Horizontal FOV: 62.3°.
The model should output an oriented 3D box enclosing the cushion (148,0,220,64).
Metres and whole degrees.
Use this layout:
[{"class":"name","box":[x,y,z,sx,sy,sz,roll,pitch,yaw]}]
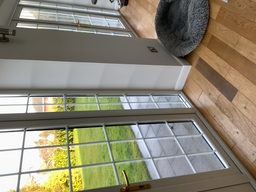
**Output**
[{"class":"cushion","box":[0.550,-0.900,2.390,0.900,0.170,0.680,-114,30,-46]}]
